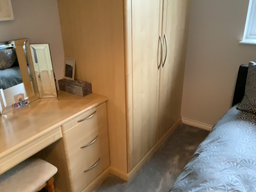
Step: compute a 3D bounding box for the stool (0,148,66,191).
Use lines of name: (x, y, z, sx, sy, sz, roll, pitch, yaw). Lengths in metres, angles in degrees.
stool: (-0.660, 0.680, 1.340, 0.310, 0.470, 0.410, 12, 27, 27)
